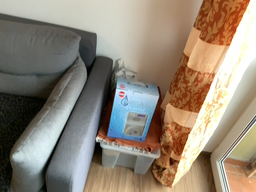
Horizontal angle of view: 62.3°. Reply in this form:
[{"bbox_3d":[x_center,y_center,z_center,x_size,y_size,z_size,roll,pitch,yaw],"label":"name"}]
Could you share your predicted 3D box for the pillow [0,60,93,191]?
[{"bbox_3d":[-0.360,0.150,1.070,0.190,0.360,0.620,13,40,-1],"label":"pillow"}]
